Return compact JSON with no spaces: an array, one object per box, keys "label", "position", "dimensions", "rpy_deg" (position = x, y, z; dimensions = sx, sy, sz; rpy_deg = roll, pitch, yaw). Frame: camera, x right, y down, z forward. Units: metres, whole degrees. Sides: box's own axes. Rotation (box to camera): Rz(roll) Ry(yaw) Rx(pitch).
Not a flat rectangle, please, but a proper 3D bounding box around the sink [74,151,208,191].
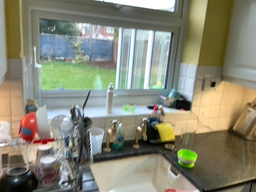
[{"label":"sink","position":[0.040,0.560,1.190],"dimensions":[0.610,0.240,0.440],"rpy_deg":[-1,15,-23]}]
